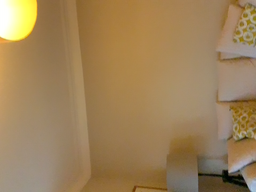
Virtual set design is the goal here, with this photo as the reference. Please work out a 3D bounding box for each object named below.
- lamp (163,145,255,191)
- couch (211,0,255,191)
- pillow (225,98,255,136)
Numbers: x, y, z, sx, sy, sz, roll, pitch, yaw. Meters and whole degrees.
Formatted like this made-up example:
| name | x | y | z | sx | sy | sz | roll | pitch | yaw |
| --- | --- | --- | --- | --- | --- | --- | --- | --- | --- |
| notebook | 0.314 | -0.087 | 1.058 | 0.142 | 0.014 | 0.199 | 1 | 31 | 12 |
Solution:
| name | x | y | z | sx | sy | sz | roll | pitch | yaw |
| --- | --- | --- | --- | --- | --- | --- | --- | --- | --- |
| lamp | 1.210 | 0.980 | 2.640 | 0.500 | 1.500 | 0.530 | -33 | -58 | -75 |
| couch | 1.420 | -0.110 | 2.210 | 0.940 | 0.860 | 2.010 | -37 | -55 | -74 |
| pillow | 1.310 | 0.230 | 2.330 | 0.180 | 0.310 | 0.350 | 127 | 135 | -57 |
